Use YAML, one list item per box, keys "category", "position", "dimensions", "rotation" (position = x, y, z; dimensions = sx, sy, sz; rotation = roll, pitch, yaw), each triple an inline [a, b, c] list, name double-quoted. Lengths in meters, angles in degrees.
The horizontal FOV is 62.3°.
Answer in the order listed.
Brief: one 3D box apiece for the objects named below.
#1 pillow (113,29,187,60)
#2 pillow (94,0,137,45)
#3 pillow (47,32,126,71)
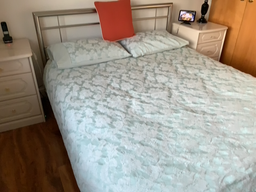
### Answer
- category: "pillow"
  position: [0.240, -0.620, 2.460]
  dimensions: [0.650, 0.130, 0.540]
  rotation: [-14, 34, -24]
- category: "pillow"
  position: [-0.150, -0.810, 2.270]
  dimensions: [0.370, 0.420, 0.240]
  rotation: [-14, 44, -25]
- category: "pillow"
  position: [-0.430, -0.480, 2.170]
  dimensions: [0.650, 0.160, 0.510]
  rotation: [-14, 34, -24]
